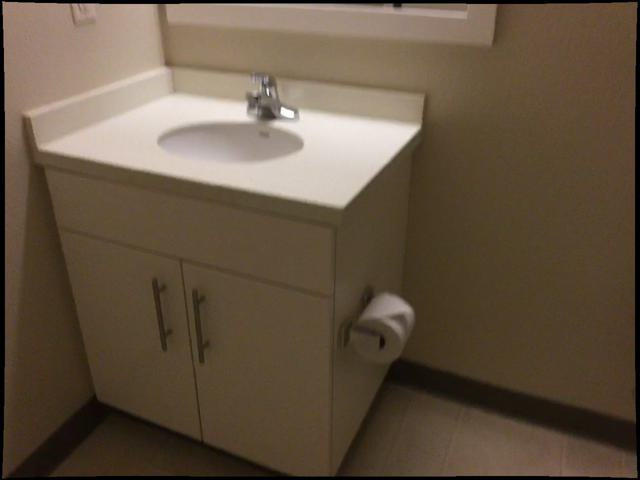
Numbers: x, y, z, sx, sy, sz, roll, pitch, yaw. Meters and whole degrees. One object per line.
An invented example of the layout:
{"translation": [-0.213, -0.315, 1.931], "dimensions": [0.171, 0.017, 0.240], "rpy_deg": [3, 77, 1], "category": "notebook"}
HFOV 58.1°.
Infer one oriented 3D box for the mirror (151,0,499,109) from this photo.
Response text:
{"translation": [-0.030, -0.852, 1.390], "dimensions": [0.958, 0.962, 0.070], "rpy_deg": [11, 31, 20], "category": "mirror"}
